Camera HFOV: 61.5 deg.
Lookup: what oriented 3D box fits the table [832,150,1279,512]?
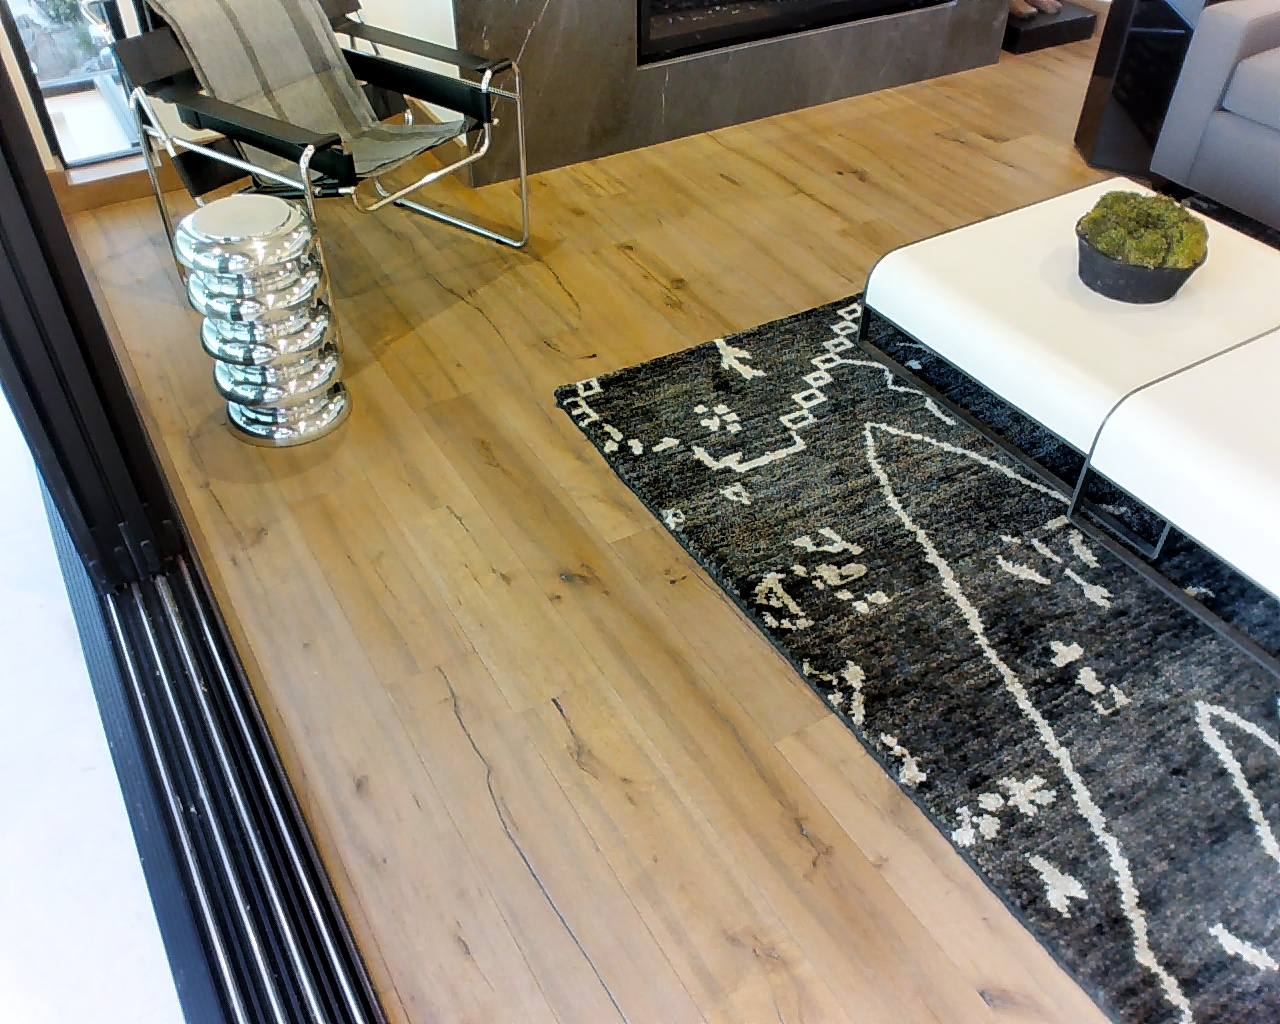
[{"bbox_3d":[1.170,-0.520,2.740,1.060,0.300,0.780,-22,47,-23],"label":"table"}]
